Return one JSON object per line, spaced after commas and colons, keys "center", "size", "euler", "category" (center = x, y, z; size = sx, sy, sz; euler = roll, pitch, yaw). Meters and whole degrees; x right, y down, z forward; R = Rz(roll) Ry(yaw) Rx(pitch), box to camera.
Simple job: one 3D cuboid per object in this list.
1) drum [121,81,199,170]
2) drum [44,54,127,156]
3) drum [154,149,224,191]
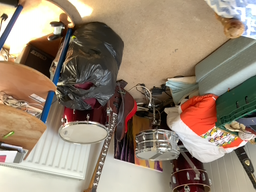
{"center": [0.290, 0.300, 2.000], "size": [0.520, 0.620, 0.420], "euler": [22, 143, -26], "category": "drum"}
{"center": [-0.340, 0.100, 1.770], "size": [0.420, 0.610, 0.500], "euler": [22, 144, -25], "category": "drum"}
{"center": [0.590, 0.840, 2.140], "size": [0.470, 0.410, 0.460], "euler": [18, 145, -21], "category": "drum"}
